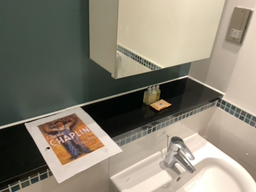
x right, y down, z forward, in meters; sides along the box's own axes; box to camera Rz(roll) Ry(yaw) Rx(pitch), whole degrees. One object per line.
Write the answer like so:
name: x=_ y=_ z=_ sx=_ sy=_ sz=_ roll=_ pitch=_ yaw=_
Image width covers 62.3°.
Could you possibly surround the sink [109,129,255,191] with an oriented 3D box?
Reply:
sink: x=0.270 y=0.410 z=0.890 sx=0.550 sy=0.160 sz=0.430 roll=-16 pitch=36 yaw=-33
